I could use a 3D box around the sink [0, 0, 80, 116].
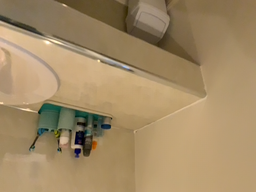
[{"bbox_3d":[-0.560,-0.150,0.790,0.590,0.190,0.490,16,149,-29],"label":"sink"}]
